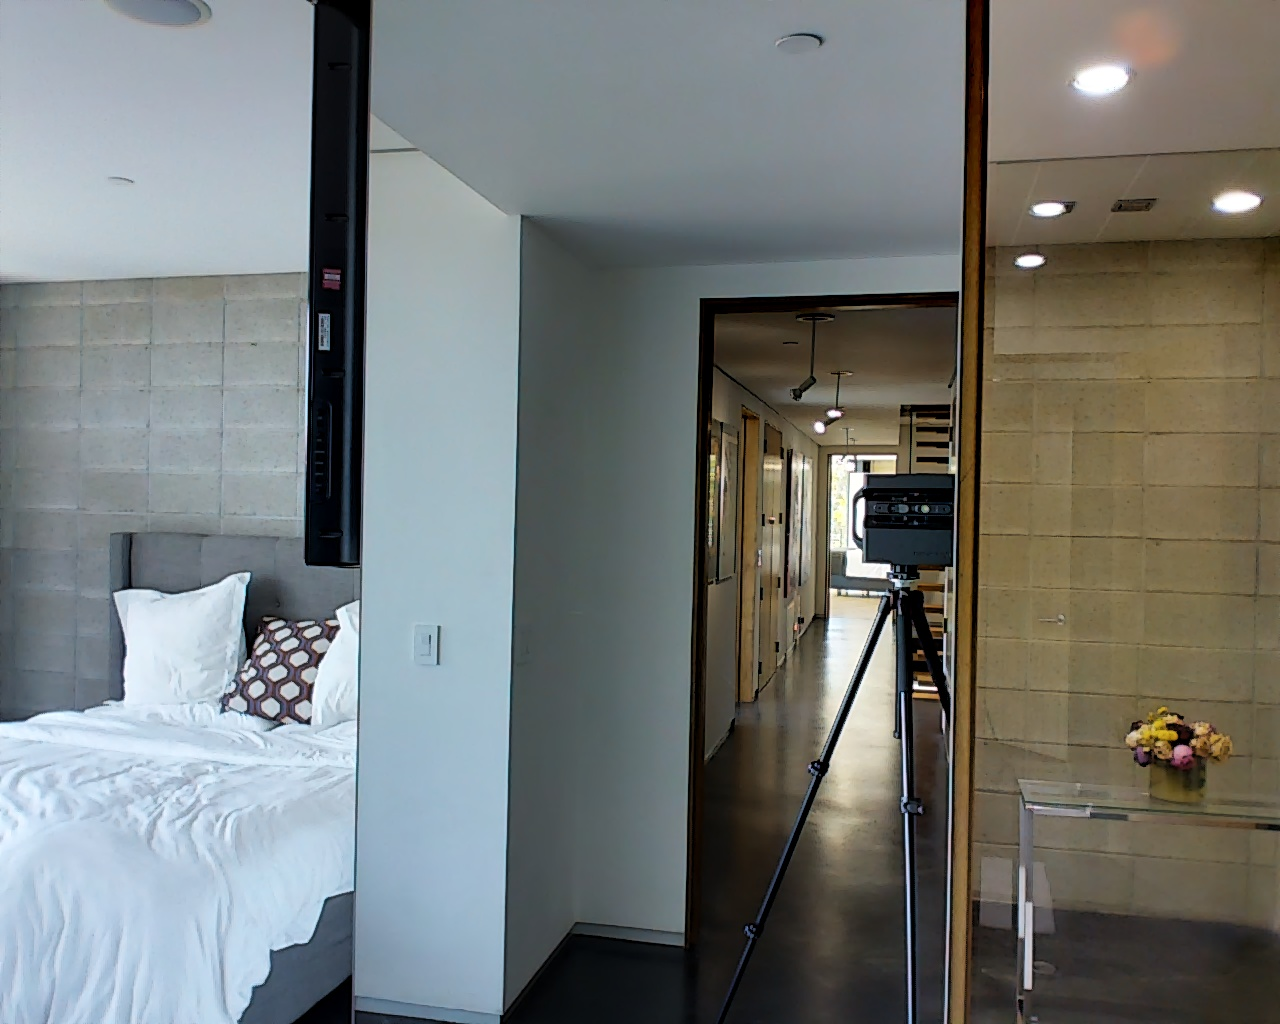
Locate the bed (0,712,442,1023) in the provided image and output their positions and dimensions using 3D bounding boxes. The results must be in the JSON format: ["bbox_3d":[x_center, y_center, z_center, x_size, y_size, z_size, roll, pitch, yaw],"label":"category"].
[{"bbox_3d":[-1.920,1.180,3.380,2.150,0.740,1.410,1,0,14],"label":"bed"}]
